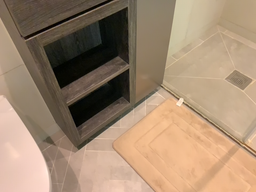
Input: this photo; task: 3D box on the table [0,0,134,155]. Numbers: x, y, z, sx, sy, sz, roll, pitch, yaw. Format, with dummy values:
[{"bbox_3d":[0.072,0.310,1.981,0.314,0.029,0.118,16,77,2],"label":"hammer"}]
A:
[{"bbox_3d":[-0.290,-0.180,0.960,0.370,0.700,0.530,-36,59,-24],"label":"table"}]
